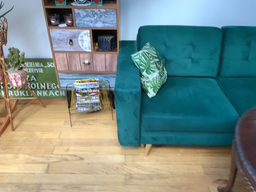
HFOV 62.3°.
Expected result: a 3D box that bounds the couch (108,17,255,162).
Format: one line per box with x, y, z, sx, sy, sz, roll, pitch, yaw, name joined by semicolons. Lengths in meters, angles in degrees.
1.100;-0.100;1.880;2.460;0.860;0.980;1;34;-1;couch
